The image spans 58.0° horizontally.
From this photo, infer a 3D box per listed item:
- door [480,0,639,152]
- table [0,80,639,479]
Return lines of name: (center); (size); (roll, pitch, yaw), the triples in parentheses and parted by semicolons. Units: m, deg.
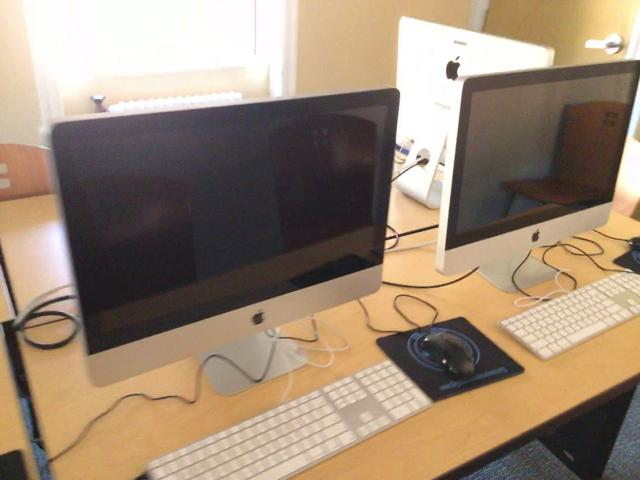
door: (1.200, -0.900, 2.960); (0.100, 0.690, 0.760); (-16, 33, -30)
table: (-1.050, 0.290, 0.620); (4.340, 0.230, 1.390); (-15, 33, -30)
